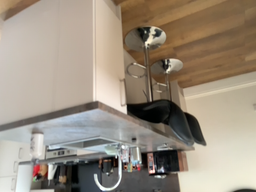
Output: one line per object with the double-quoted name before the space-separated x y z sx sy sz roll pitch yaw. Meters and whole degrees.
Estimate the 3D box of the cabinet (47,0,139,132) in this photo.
"cabinet" -0.190 -0.270 1.340 0.270 0.890 0.480 -14 157 25
